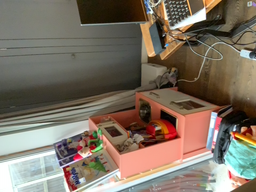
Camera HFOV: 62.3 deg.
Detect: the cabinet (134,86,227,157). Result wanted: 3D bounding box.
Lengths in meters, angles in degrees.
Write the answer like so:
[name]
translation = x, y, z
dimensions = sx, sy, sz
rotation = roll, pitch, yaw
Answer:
[cabinet]
translation = 0.440, 0.180, 1.980
dimensions = 0.680, 0.490, 0.360
rotation = 28, 122, 59
